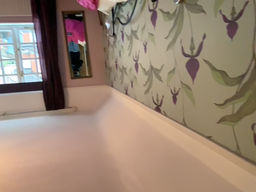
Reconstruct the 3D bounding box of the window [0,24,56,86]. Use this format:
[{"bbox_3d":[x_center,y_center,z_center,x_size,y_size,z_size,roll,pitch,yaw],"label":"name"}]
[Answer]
[{"bbox_3d":[-2.360,-0.720,3.870,1.880,1.080,0.100,-6,-170,-14],"label":"window"}]
